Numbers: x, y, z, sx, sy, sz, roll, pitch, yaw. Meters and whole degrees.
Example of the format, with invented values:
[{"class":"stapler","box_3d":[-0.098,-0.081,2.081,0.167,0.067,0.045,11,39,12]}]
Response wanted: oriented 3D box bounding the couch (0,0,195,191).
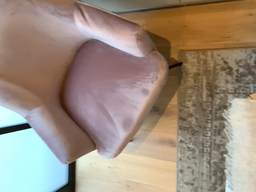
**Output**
[{"class":"couch","box_3d":[-0.210,-0.090,1.080,0.720,0.820,0.680,36,105,18]}]
